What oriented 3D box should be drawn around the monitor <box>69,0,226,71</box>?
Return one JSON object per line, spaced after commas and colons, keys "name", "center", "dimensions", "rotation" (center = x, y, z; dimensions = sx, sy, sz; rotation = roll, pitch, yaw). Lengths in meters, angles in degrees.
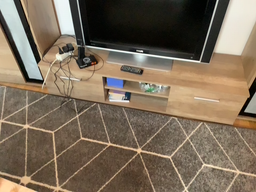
{"name": "monitor", "center": [0.080, -0.470, 1.340], "dimensions": [0.900, 0.540, 0.090], "rotation": [11, 46, 10]}
